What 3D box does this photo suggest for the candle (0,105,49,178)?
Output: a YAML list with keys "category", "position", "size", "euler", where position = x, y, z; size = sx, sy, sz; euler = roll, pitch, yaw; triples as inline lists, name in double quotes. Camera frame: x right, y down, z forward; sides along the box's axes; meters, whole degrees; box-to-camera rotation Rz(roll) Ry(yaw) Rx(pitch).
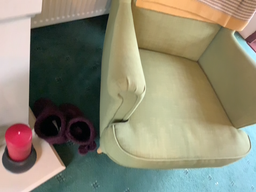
- category: "candle"
  position: [-0.390, 0.180, 0.780]
  size: [0.110, 0.290, 0.150]
  euler: [-25, 74, -35]
